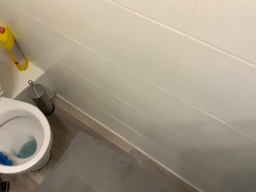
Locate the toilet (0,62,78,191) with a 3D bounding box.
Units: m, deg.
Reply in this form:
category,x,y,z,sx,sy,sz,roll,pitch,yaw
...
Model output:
category,x,y,z,sx,sy,sz,roll,pitch,yaw
toilet,-0.670,0.150,1.050,0.610,0.730,0.370,29,62,16
